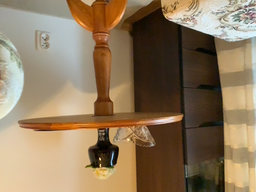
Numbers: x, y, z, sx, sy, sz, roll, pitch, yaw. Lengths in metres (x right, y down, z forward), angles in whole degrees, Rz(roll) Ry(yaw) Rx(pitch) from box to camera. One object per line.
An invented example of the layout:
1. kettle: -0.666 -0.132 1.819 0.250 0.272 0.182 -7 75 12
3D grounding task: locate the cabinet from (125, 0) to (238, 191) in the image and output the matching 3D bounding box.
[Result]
1. cabinet: 0.340 0.510 1.340 0.490 2.000 0.460 2 175 -37

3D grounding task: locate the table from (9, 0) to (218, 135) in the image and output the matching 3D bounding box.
1. table: -0.100 -0.210 0.860 0.600 0.630 0.600 1 175 -36
